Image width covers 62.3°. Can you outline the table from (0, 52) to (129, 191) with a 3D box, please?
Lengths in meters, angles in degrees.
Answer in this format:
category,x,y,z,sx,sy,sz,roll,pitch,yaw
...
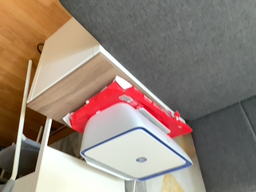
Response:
category,x,y,z,sx,sy,sz,roll,pitch,yaw
table,-0.740,0.480,1.370,1.430,0.750,0.530,-27,135,26

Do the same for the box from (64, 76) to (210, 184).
category,x,y,z,sx,sy,sz,roll,pitch,yaw
box,0.050,0.190,0.910,0.400,0.180,0.450,-28,135,26
